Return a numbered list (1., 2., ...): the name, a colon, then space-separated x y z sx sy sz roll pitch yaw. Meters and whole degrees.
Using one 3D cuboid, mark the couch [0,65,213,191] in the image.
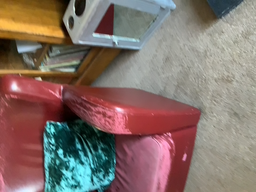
1. couch: -0.180 0.280 1.160 0.780 0.840 0.760 19 107 45
